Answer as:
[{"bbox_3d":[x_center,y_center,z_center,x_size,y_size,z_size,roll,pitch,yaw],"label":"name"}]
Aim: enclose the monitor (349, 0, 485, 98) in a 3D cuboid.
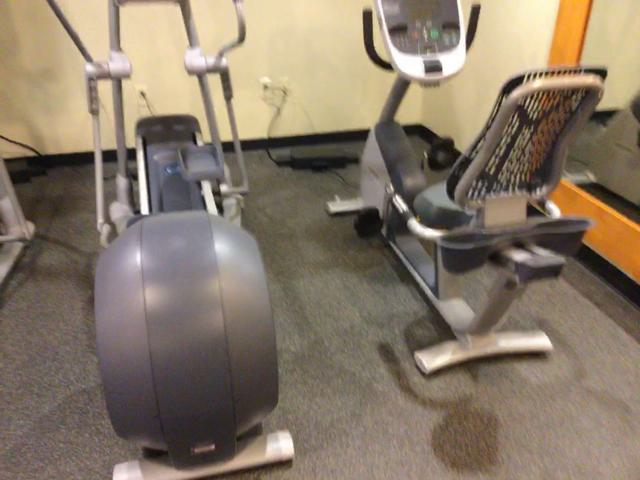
[{"bbox_3d":[0.390,-0.860,2.280,0.360,0.460,0.080,27,9,-24],"label":"monitor"}]
